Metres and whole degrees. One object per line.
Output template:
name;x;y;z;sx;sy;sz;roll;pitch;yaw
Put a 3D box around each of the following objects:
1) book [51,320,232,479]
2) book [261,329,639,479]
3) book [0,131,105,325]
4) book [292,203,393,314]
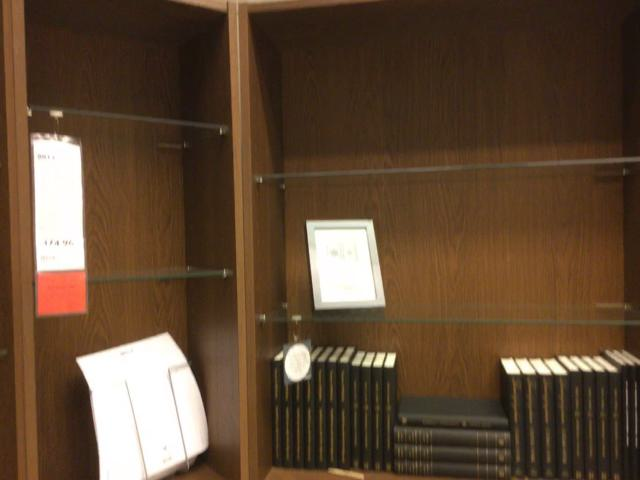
book;-0.380;0.340;1.210;0.310;0.280;0.260;-3;2;-28
book;0.270;0.340;1.200;0.740;0.270;0.220;-1;2;11
book;-0.450;-0.020;0.970;0.090;0.300;0.130;-1;2;24
book;0.050;0.040;1.240;0.190;0.200;0.060;-10;26;-7
